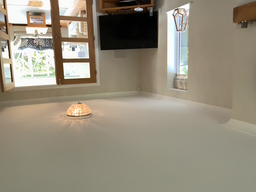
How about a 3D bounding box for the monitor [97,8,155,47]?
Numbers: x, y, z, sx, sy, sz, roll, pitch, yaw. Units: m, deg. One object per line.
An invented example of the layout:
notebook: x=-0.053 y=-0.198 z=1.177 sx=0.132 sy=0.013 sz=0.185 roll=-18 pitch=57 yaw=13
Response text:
monitor: x=-0.050 y=-1.420 z=4.470 sx=1.220 sy=0.760 sz=0.070 roll=2 pitch=-172 yaw=11
